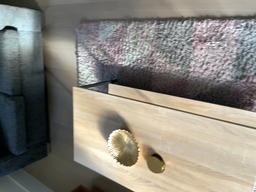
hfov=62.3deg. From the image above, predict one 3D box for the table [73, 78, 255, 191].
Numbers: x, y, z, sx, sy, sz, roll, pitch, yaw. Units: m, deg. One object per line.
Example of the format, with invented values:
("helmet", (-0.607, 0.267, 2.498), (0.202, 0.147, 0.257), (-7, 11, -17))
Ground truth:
("table", (0.190, 0.250, 1.250), (1.000, 0.430, 0.530), (13, 108, 32))
